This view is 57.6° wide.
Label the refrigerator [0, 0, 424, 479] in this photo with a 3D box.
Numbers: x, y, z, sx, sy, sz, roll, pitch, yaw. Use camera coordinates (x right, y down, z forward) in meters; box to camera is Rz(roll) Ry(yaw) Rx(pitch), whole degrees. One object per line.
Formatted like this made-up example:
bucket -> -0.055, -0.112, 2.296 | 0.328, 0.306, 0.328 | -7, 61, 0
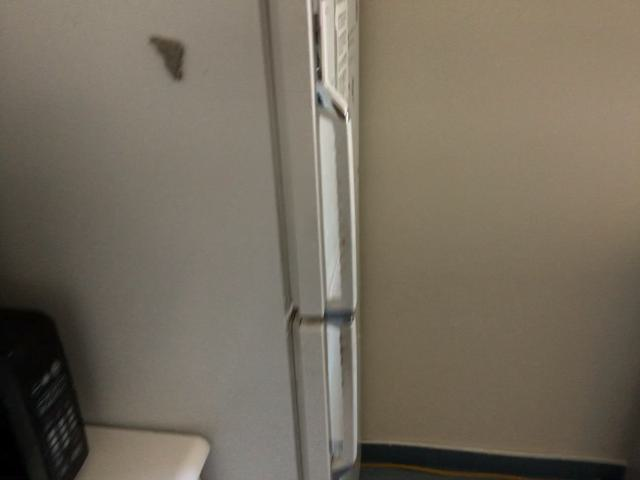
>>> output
refrigerator -> -0.230, 0.190, 1.360 | 0.810, 1.680, 0.810 | 1, 26, 16
